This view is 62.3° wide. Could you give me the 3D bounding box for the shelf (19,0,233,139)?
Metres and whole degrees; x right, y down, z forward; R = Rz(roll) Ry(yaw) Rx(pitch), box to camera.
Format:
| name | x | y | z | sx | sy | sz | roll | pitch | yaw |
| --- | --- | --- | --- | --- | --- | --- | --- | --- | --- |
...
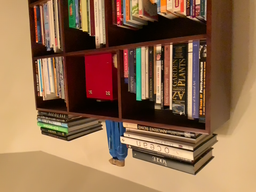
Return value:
| name | x | y | z | sx | sy | sz | roll | pitch | yaw |
| --- | --- | --- | --- | --- | --- | --- | --- | --- | --- |
| shelf | -0.130 | -0.810 | 1.190 | 1.260 | 1.850 | 0.370 | 3 | -171 | 36 |
